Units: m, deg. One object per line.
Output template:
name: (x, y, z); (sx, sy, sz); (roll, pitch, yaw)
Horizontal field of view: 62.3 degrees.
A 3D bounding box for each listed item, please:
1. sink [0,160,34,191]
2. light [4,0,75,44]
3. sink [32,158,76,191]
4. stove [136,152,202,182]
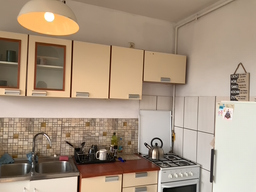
sink: (-1.090, 0.750, 1.970); (0.380, 0.170, 0.410); (3, -1, -22)
light: (-0.590, -0.780, 1.540); (0.400, 0.650, 0.440); (4, -1, -16)
sink: (-0.740, 0.770, 2.110); (0.370, 0.170, 0.410); (3, -1, -22)
stove: (0.460, 0.820, 2.530); (0.530, 0.140, 0.600); (3, -1, -22)
